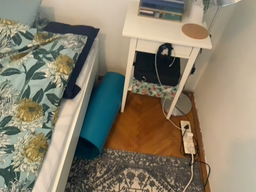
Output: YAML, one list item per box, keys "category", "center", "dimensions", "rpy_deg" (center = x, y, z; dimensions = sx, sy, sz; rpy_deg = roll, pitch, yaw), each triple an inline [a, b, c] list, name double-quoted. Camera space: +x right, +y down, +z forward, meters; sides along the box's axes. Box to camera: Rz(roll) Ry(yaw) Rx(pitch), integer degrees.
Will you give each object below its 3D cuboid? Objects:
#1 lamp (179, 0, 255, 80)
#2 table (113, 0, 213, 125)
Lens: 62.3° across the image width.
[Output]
- category: "lamp"
  center: [0.420, -0.460, 0.990]
  dimensions: [0.210, 0.440, 0.620]
  rpy_deg: [10, 48, -1]
- category: "table"
  center: [0.180, -0.190, 1.450]
  dimensions: [0.460, 0.700, 0.380]
  rpy_deg: [10, 48, -1]
